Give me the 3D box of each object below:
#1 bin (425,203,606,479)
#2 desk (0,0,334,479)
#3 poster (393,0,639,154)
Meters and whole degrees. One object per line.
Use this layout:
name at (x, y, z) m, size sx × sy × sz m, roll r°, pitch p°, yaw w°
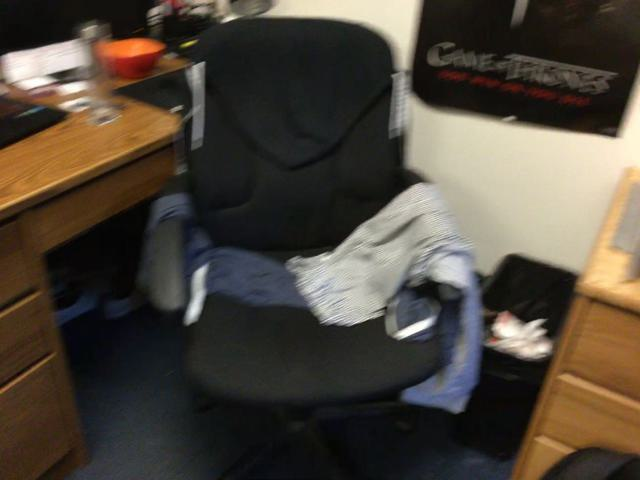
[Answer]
bin at (0.520, 0.260, 1.540) m, size 0.250 × 0.530 × 0.470 m, roll 19°, pitch 34°, yaw 25°
desk at (-0.710, -0.080, 1.610) m, size 0.810 × 0.890 × 1.520 m, roll 19°, pitch 34°, yaw 25°
poster at (0.530, -0.760, 1.380) m, size 0.640 × 1.020 × 0.040 m, roll 19°, pitch 34°, yaw 25°
